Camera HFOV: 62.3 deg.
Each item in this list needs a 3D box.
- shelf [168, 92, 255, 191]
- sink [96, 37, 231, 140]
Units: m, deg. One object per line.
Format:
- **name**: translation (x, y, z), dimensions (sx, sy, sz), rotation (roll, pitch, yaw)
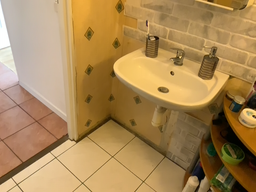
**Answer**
- **shelf**: translation (0.520, 0.440, 1.190), dimensions (0.370, 0.750, 0.390), rotation (31, 42, 27)
- **sink**: translation (0.180, -0.090, 1.170), dimensions (0.580, 0.190, 0.410), rotation (30, 42, 26)
